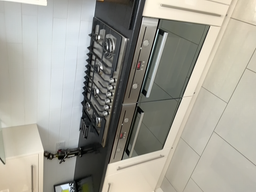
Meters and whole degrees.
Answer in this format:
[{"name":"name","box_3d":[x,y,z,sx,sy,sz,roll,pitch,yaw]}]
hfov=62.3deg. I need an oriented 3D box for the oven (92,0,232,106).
[{"name":"oven","box_3d":[0.240,-0.370,1.770,0.600,0.840,0.580,47,133,44]}]
